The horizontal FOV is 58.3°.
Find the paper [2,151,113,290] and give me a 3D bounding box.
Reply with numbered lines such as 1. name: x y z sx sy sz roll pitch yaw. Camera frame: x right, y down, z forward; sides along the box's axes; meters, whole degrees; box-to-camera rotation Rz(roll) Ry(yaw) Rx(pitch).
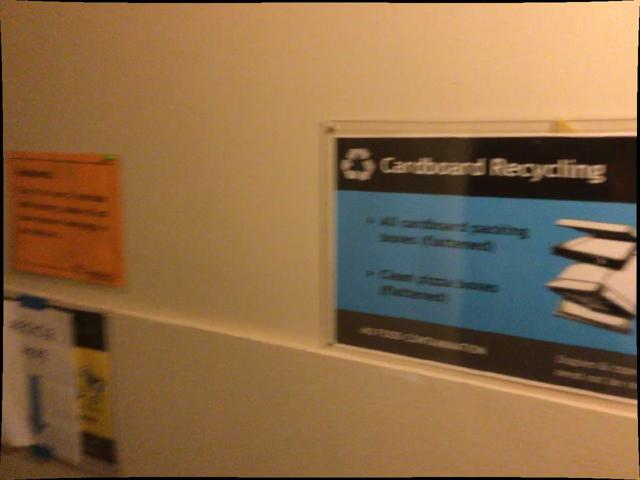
1. paper: -0.460 -0.040 1.000 0.250 0.220 0.020 6 11 29

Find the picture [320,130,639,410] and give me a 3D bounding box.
1. picture: 0.200 0.020 0.650 0.440 0.280 0.020 6 11 29

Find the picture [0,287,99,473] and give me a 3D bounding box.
1. picture: -0.520 0.240 1.040 0.300 0.280 0.030 7 11 30
